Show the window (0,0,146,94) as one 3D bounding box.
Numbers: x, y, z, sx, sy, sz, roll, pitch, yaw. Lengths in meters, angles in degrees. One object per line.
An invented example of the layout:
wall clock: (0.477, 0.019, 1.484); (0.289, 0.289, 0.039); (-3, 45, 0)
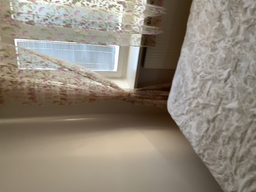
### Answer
window: (-0.660, -0.780, 2.210); (0.300, 1.600, 1.570); (-114, 27, -56)
